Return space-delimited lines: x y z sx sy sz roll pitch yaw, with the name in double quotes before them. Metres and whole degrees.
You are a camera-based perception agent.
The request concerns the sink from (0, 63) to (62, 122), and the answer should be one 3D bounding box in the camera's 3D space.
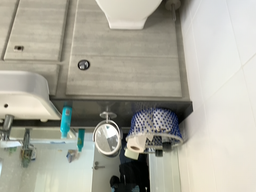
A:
"sink" -0.690 0.000 1.110 0.580 0.150 0.430 2 158 -5
